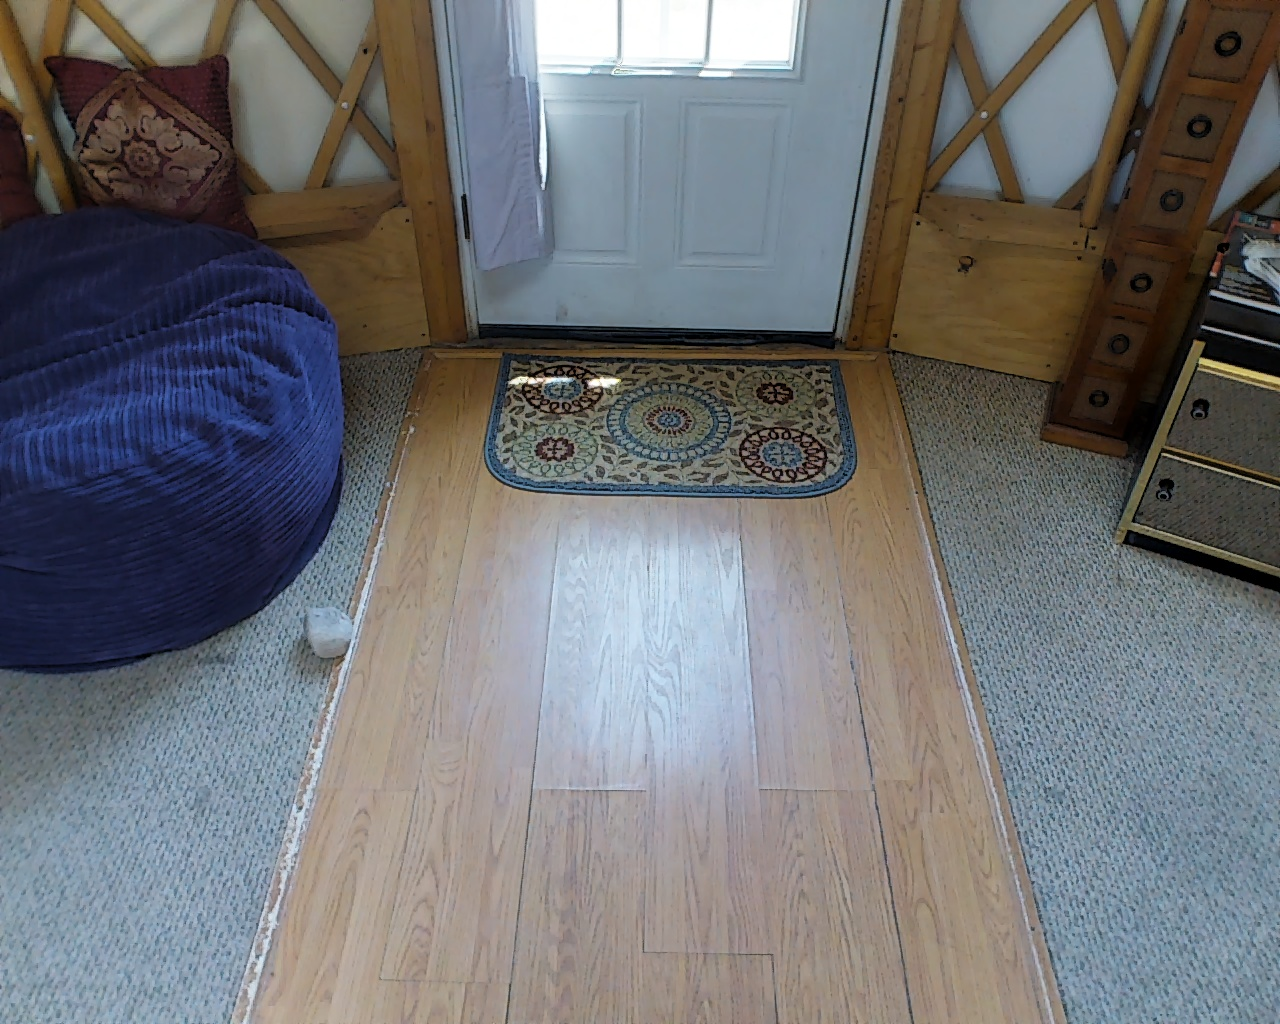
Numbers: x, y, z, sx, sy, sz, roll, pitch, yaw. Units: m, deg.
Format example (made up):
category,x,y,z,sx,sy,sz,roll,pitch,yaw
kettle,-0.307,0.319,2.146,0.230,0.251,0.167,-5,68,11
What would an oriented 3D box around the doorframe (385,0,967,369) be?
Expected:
category,x,y,z,sx,sy,sz,roll,pitch,yaw
doorframe,0.070,-1.210,1.980,1.130,2.180,0.120,1,42,1
